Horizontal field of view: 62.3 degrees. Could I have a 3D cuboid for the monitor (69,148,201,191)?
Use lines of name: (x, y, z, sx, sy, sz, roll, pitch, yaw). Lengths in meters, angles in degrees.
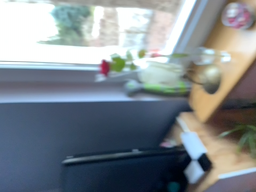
monitor: (-0.050, 0.620, 1.380, 0.960, 0.670, 0.030, 114, 148, -43)
